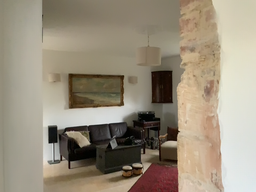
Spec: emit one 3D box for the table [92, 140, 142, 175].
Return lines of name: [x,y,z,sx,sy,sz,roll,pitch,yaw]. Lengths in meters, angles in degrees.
table: [-0.220,1.220,4.330,0.900,0.450,0.460,1,1,-33]
